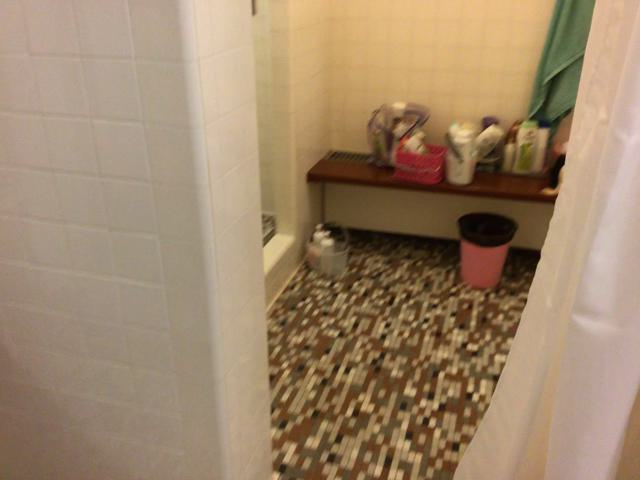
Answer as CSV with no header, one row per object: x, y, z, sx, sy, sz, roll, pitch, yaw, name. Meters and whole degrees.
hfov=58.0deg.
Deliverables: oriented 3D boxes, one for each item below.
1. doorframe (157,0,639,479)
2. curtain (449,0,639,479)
0.260,0.000,1.090,0.960,1.750,0.350,7,25,16,doorframe
0.500,0.030,1.010,0.300,1.700,0.330,-20,31,-37,curtain
